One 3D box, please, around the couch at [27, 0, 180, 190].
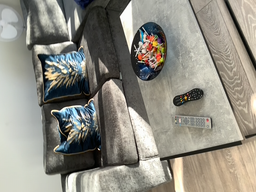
[{"bbox_3d":[-0.410,-0.300,2.100,0.960,0.750,2.120,-35,64,51],"label":"couch"}]
